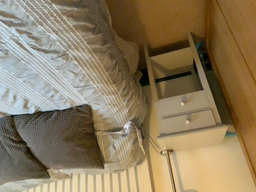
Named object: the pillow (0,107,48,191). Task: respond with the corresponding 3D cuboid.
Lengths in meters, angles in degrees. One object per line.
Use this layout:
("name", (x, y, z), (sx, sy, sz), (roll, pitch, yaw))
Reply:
("pillow", (-0.760, 0.360, 1.340), (0.440, 0.450, 0.200), (16, -163, 21))

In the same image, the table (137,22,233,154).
("table", (0.370, -0.060, 1.560), (0.430, 0.820, 0.370), (-12, 151, 8))

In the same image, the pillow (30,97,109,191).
("pillow", (-0.360, 0.290, 1.270), (0.390, 0.460, 0.160), (16, -160, 14))
